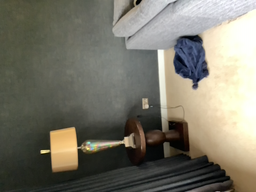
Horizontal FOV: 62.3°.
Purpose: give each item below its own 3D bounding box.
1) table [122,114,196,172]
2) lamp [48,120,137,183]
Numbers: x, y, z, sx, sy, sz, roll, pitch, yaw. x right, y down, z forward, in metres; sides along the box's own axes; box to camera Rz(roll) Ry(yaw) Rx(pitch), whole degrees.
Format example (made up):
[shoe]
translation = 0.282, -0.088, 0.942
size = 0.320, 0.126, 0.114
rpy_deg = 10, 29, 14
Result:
[table]
translation = 0.360, 0.520, 2.570
size = 0.510, 0.700, 0.510
rpy_deg = 180, 87, -69
[lamp]
translation = -0.400, 0.560, 2.340
size = 0.420, 0.880, 0.470
rpy_deg = 178, 88, -69
